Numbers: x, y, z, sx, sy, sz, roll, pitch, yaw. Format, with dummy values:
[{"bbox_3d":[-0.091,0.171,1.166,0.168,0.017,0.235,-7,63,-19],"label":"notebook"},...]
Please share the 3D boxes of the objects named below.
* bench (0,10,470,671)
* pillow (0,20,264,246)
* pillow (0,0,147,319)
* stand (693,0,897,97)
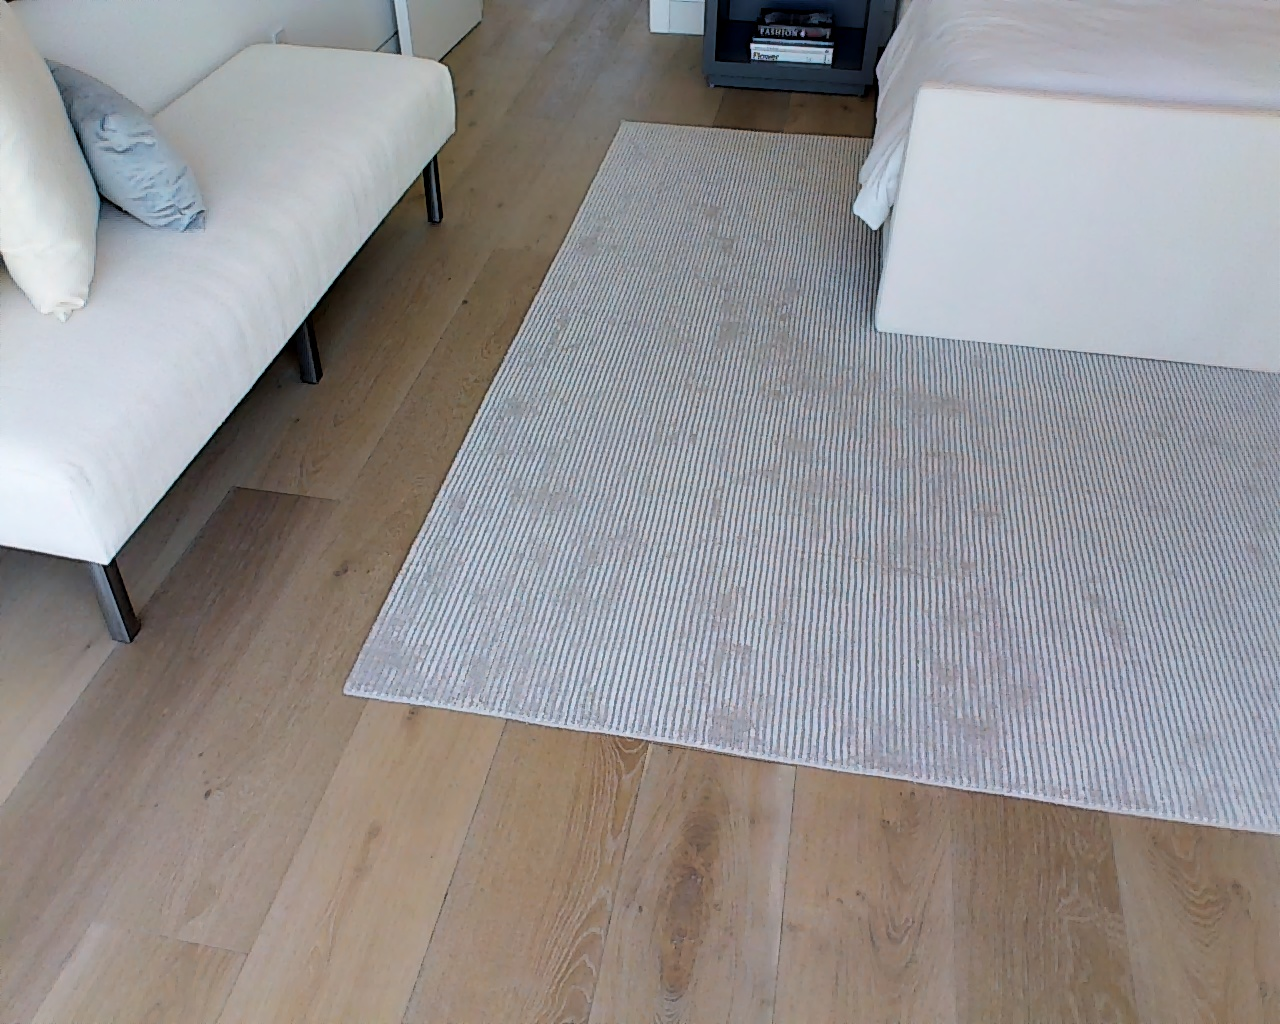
[{"bbox_3d":[-1.040,-0.590,2.590,0.710,0.520,1.960,8,43,5],"label":"bench"},{"bbox_3d":[-1.100,-0.810,2.270,0.420,0.270,0.340,21,45,18],"label":"pillow"},{"bbox_3d":[-1.140,-0.700,1.960,0.240,0.530,0.440,-3,43,-7],"label":"pillow"},{"bbox_3d":[0.630,-2.120,4.170,0.720,0.710,0.630,8,42,5],"label":"stand"}]
